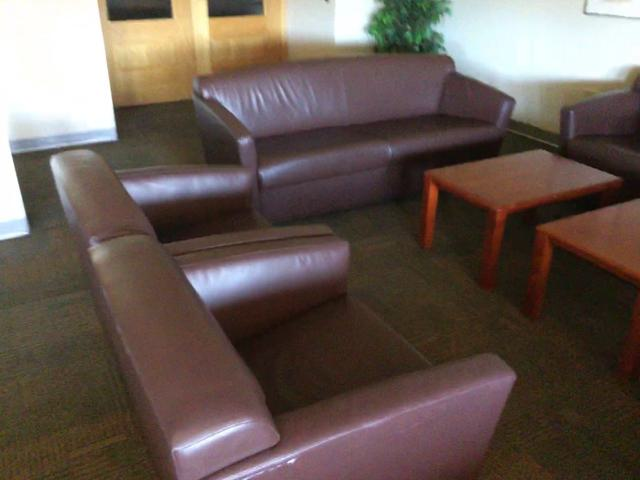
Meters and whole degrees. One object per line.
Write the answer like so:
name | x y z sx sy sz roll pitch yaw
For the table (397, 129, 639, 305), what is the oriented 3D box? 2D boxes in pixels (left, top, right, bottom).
table | 0.900 -0.160 2.740 0.740 0.470 0.710 -12 32 -27

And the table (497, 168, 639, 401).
table | 1.280 0.100 2.240 0.840 0.480 0.670 -12 32 -27

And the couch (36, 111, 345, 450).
couch | -0.470 0.050 2.020 0.750 0.730 0.820 -12 32 -27

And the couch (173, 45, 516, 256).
couch | 0.130 -0.590 3.220 1.630 0.760 0.800 -12 32 -27

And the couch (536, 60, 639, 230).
couch | 1.760 -0.530 2.960 0.950 0.620 0.670 -15 33 -30
